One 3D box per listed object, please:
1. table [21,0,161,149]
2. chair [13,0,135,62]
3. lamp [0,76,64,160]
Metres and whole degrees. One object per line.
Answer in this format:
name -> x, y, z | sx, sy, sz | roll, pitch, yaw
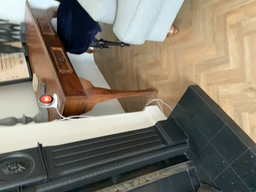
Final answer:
table -> -0.410, -0.270, 1.830 | 1.210, 0.720, 0.520 | 59, 137, 33
chair -> -0.450, -0.640, 1.760 | 0.490, 0.810, 0.570 | -15, 81, 55
lamp -> -0.790, 0.130, 1.200 | 0.370, 0.700, 0.310 | 57, 136, 35
